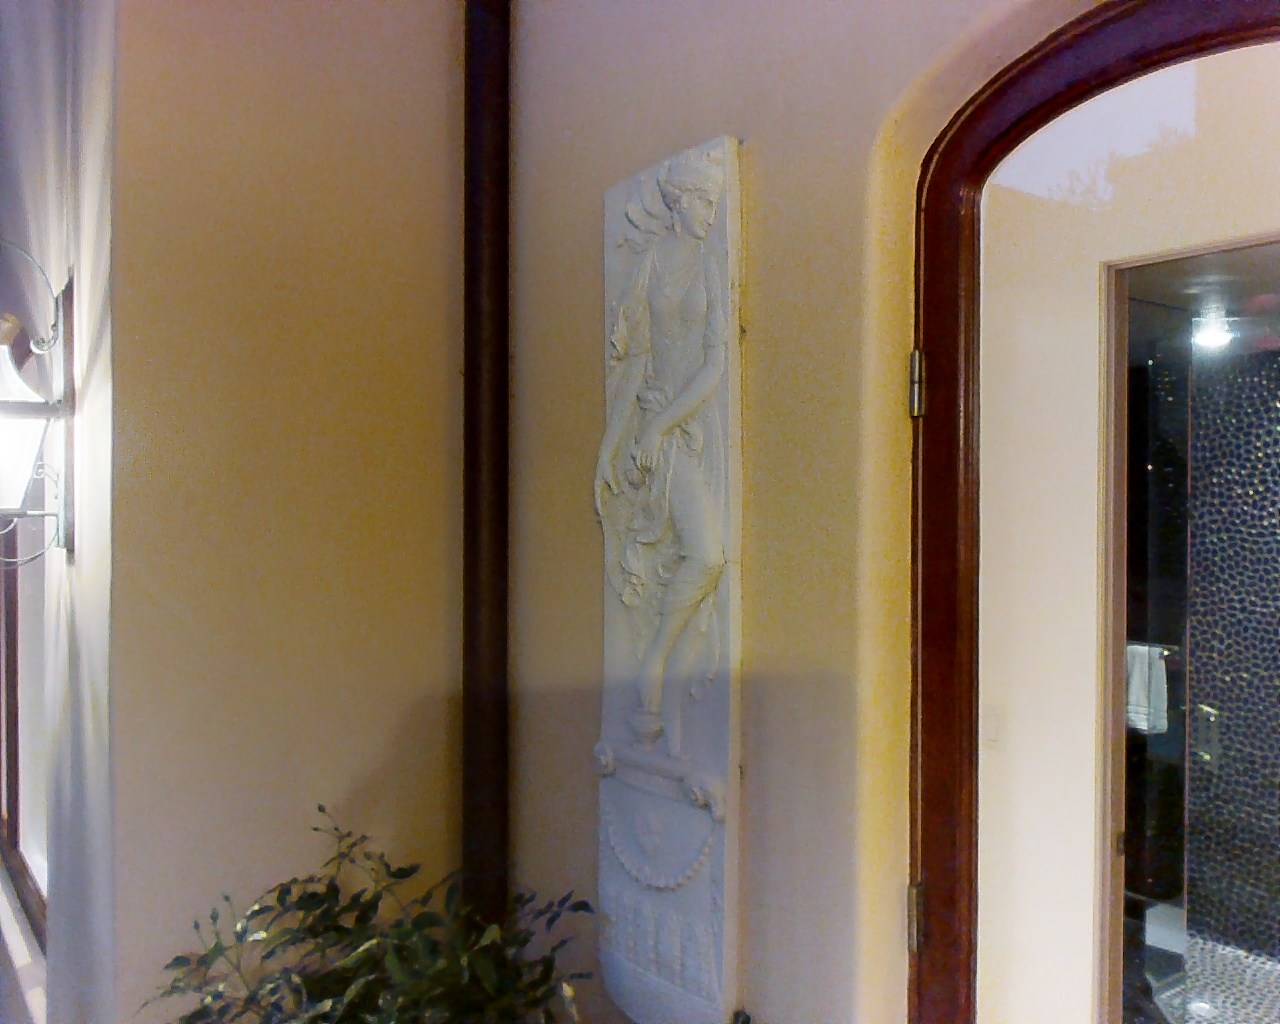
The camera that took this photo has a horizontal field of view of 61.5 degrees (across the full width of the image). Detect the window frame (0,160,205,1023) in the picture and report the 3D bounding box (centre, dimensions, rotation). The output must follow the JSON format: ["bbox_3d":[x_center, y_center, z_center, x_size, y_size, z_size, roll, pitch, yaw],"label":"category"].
[{"bbox_3d":[-1.699,0.280,3.070,0.240,1.930,1.760,-1,37,-36],"label":"window frame"}]

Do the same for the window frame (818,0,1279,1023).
[{"bbox_3d":[0.480,0.070,1.020,0.160,1.301,0.690,-1,1,-37],"label":"window frame"}]
